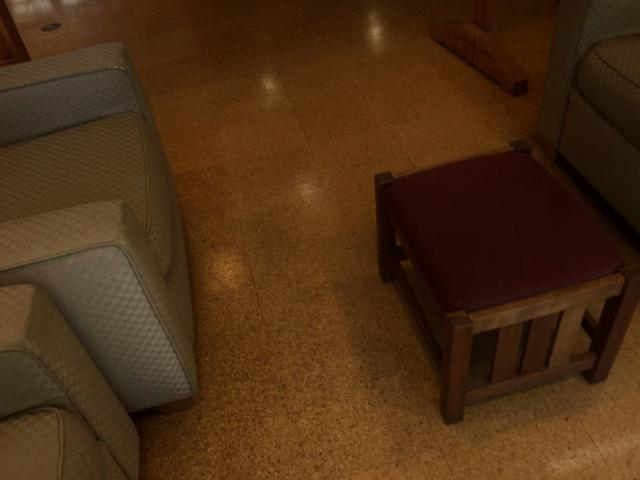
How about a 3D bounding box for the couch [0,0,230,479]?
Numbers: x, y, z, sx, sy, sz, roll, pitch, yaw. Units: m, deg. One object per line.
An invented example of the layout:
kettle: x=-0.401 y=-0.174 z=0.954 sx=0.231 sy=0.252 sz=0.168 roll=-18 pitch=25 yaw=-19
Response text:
couch: x=-0.790 y=-0.020 z=1.330 sx=0.890 sy=0.780 sz=0.860 roll=-15 pitch=44 yaw=-6
